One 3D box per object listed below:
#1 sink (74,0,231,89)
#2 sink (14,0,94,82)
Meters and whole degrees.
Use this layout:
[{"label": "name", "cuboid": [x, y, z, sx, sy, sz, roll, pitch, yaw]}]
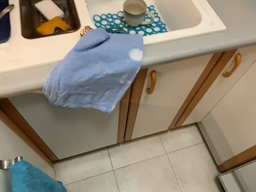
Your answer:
[{"label": "sink", "cuboid": [0.030, -0.320, 0.780, 0.410, 0.190, 0.490, -13, 61, -12]}, {"label": "sink", "cuboid": [-0.250, -0.250, 0.720, 0.190, 0.190, 0.320, -13, 61, -12]}]
